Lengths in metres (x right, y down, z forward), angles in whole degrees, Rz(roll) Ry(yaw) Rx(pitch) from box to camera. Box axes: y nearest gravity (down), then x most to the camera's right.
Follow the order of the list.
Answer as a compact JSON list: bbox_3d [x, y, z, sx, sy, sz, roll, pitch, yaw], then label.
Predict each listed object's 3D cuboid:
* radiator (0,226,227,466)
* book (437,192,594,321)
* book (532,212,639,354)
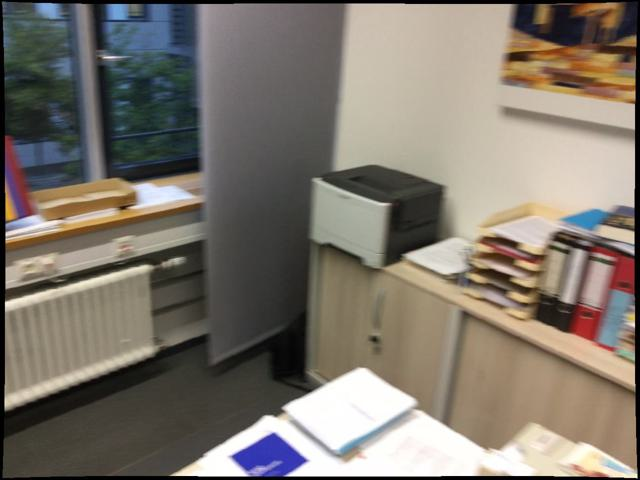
[{"bbox_3d":[-1.538,0.601,2.040,2.649,0.621,0.350,-19,32,-39],"label":"radiator"},{"bbox_3d":[0.719,0.040,2.150,0.390,0.270,0.370,-19,32,-39],"label":"book"},{"bbox_3d":[0.959,0.130,1.950,0.320,0.310,0.290,-19,32,-39],"label":"book"}]
